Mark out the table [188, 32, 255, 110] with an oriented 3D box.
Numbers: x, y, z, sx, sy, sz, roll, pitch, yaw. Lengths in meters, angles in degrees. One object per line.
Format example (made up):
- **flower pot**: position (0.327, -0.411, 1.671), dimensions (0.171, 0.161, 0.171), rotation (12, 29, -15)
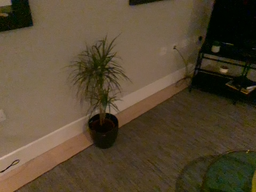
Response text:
- **table**: position (1.300, -0.280, 2.430), dimensions (1.000, 0.590, 0.470), rotation (19, 39, 20)
